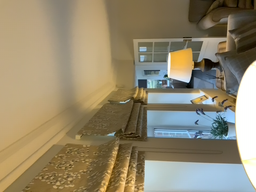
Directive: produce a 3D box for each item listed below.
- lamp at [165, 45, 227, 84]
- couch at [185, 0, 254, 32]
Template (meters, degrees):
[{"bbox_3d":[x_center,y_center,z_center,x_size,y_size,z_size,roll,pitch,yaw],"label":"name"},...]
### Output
[{"bbox_3d":[0.980,-0.480,3.200,0.500,0.780,0.540,-66,-24,-79],"label":"lamp"},{"bbox_3d":[1.600,-1.930,3.830,1.000,0.890,1.380,-66,-24,-79],"label":"couch"}]
